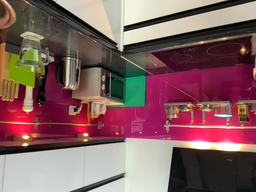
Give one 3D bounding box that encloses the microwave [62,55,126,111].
[{"bbox_3d":[-0.290,-0.090,1.970,0.330,0.410,0.500,-3,171,27],"label":"microwave"}]
